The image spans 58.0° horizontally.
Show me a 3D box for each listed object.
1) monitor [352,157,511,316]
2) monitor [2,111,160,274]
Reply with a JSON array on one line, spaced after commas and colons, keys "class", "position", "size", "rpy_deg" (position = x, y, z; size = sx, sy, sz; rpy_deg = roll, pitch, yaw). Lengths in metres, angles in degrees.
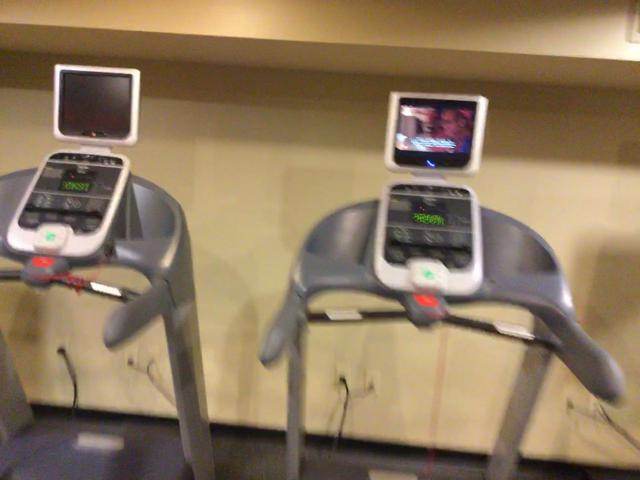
[{"class": "monitor", "position": [0.350, -0.010, 1.860], "size": [0.320, 0.390, 0.090], "rpy_deg": [36, 15, 2]}, {"class": "monitor", "position": [-0.810, -0.160, 1.960], "size": [0.340, 0.420, 0.120], "rpy_deg": [37, 15, 0]}]
